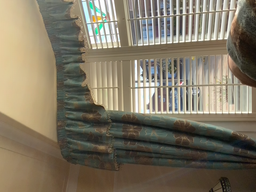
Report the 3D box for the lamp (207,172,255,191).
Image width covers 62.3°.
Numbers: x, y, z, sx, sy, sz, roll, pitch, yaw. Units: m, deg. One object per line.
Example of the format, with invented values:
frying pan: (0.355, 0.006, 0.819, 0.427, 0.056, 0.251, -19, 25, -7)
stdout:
lamp: (0.980, 0.910, 1.970, 0.470, 0.370, 0.300, 69, -157, -61)
